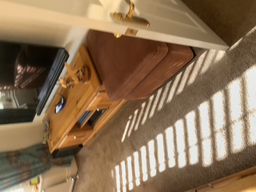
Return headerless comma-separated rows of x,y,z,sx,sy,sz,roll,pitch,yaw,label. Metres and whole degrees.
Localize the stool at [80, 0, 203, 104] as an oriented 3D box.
0.050,-0.400,1.640,0.630,0.460,0.650,-46,60,41,stool
